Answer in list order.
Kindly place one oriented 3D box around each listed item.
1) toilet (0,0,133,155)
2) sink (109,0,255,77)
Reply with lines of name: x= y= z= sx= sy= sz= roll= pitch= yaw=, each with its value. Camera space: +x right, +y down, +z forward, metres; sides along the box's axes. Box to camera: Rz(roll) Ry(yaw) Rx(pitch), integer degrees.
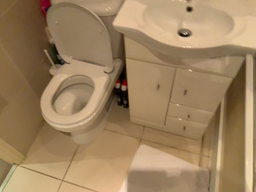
toilet: x=-0.280 y=-0.140 z=1.340 sx=0.410 sy=0.810 sz=0.670 roll=15 pitch=58 yaw=12
sink: x=0.260 y=-0.340 z=0.980 sx=0.580 sy=0.160 sz=0.370 roll=15 pitch=58 yaw=12
